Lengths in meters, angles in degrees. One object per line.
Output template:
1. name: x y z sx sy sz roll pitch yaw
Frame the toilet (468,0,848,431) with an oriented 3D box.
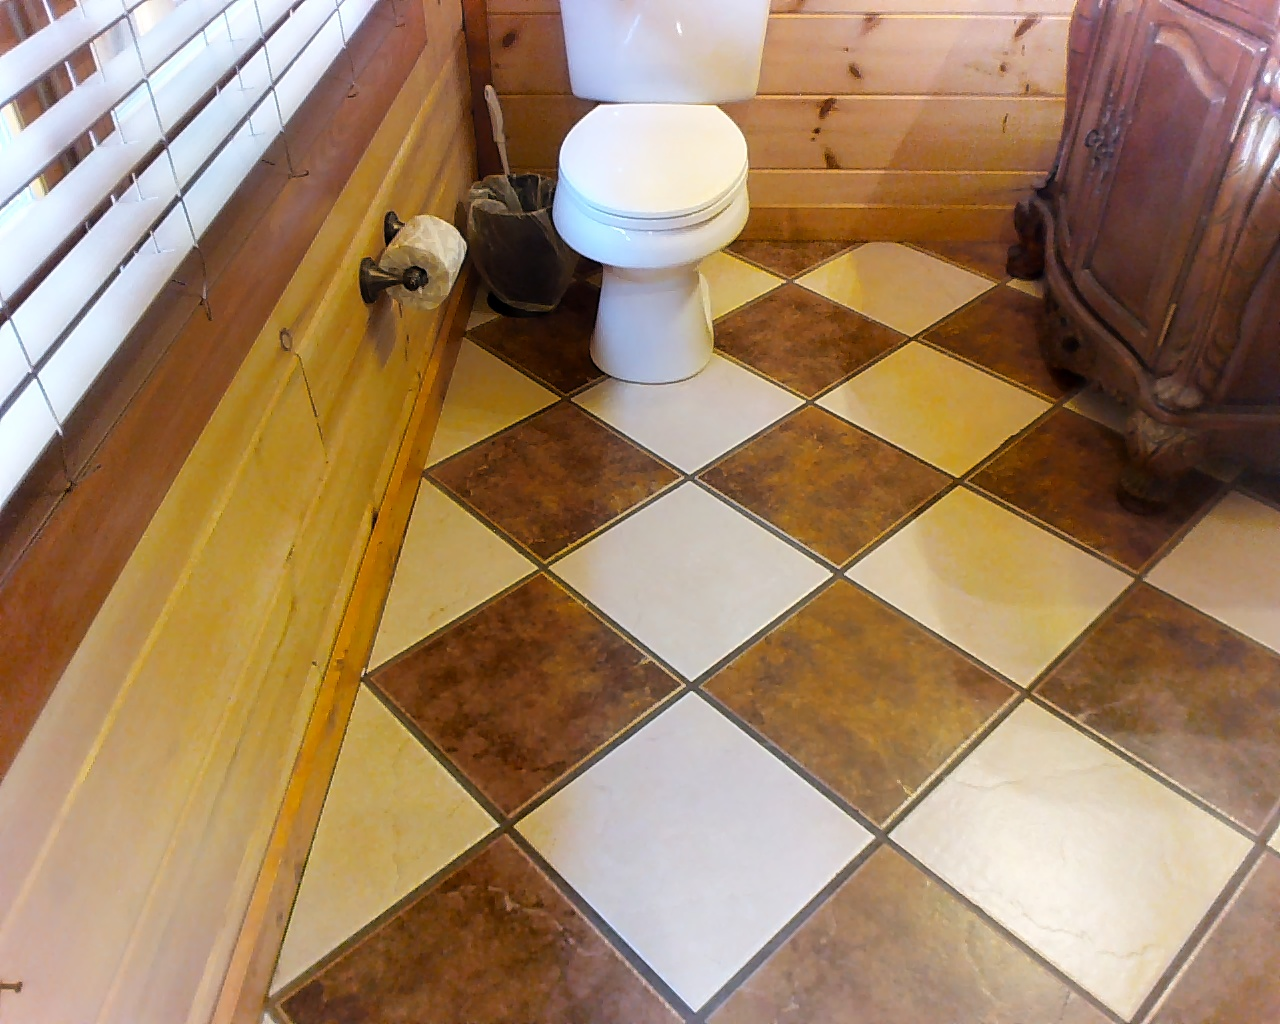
1. toilet: 0.040 -0.710 2.120 0.560 0.760 0.780 3 40 2
